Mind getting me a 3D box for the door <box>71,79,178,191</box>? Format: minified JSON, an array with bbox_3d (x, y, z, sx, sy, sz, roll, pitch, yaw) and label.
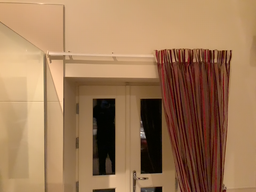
[{"bbox_3d":[-0.020,0.750,1.870,0.930,1.790,0.060,0,1,-5],"label":"door"}]
